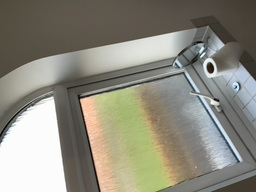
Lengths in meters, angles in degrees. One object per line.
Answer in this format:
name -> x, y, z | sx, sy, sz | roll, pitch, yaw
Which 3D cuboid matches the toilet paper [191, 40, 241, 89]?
toilet paper -> 0.360, -0.130, 0.890 | 0.150, 0.110, 0.110 | 91, 161, -52
